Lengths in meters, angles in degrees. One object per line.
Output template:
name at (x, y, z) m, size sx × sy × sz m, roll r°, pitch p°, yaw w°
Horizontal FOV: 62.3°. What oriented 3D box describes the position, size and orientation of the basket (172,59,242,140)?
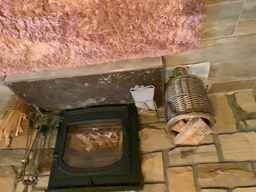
basket at (0.460, 0.030, 1.340) m, size 0.300 × 0.380 × 0.300 m, roll -6°, pitch 147°, yaw 6°
